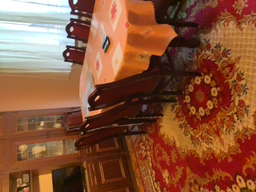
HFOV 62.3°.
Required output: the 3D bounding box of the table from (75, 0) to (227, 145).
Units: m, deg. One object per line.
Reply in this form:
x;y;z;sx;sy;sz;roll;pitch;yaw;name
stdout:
-0.050;-0.340;2.500;2.030;0.770;1.060;120;140;-51;table
